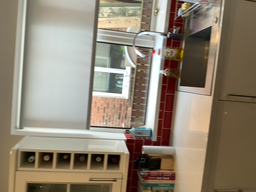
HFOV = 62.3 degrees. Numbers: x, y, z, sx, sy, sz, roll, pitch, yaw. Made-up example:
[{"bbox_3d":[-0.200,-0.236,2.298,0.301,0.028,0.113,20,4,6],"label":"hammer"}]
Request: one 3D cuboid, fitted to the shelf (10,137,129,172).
[{"bbox_3d":[-0.410,0.440,1.610,0.300,0.790,0.120,-147,63,-79],"label":"shelf"}]
